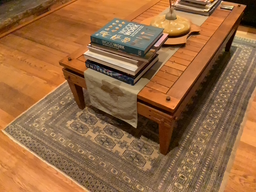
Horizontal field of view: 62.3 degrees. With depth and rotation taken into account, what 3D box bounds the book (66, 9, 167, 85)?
[{"bbox_3d":[-0.050,-0.270,1.080,0.390,0.170,0.300,23,50,24],"label":"book"}]
